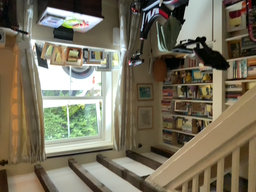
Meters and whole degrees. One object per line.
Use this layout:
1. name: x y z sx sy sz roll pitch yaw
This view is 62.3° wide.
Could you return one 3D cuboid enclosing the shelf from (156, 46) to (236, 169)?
1. shelf: 0.930 0.130 3.220 0.170 1.510 1.350 0 -179 -31
